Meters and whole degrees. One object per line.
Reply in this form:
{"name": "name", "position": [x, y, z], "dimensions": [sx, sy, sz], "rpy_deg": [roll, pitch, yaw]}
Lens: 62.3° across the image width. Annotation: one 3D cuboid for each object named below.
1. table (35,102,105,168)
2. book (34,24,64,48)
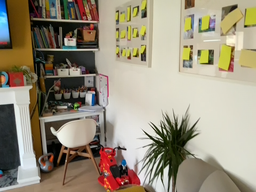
{"name": "table", "position": [-0.890, 0.550, 3.290], "dimensions": [0.930, 0.730, 0.530], "rpy_deg": [-6, 15, -25]}
{"name": "book", "position": [-1.110, -0.840, 3.000], "dimensions": [0.360, 0.310, 0.290], "rpy_deg": [-4, 14, -20]}
